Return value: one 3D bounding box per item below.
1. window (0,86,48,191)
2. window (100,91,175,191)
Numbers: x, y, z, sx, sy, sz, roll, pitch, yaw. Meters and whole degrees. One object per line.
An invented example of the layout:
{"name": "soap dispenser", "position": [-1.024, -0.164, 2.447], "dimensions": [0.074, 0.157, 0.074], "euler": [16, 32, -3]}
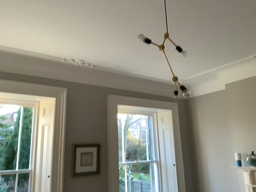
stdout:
{"name": "window", "position": [-1.850, 1.000, 2.770], "dimensions": [1.340, 2.280, 0.340], "euler": [7, -17, -34]}
{"name": "window", "position": [0.200, 1.170, 4.080], "dimensions": [1.420, 2.330, 0.400], "euler": [8, -17, -35]}
